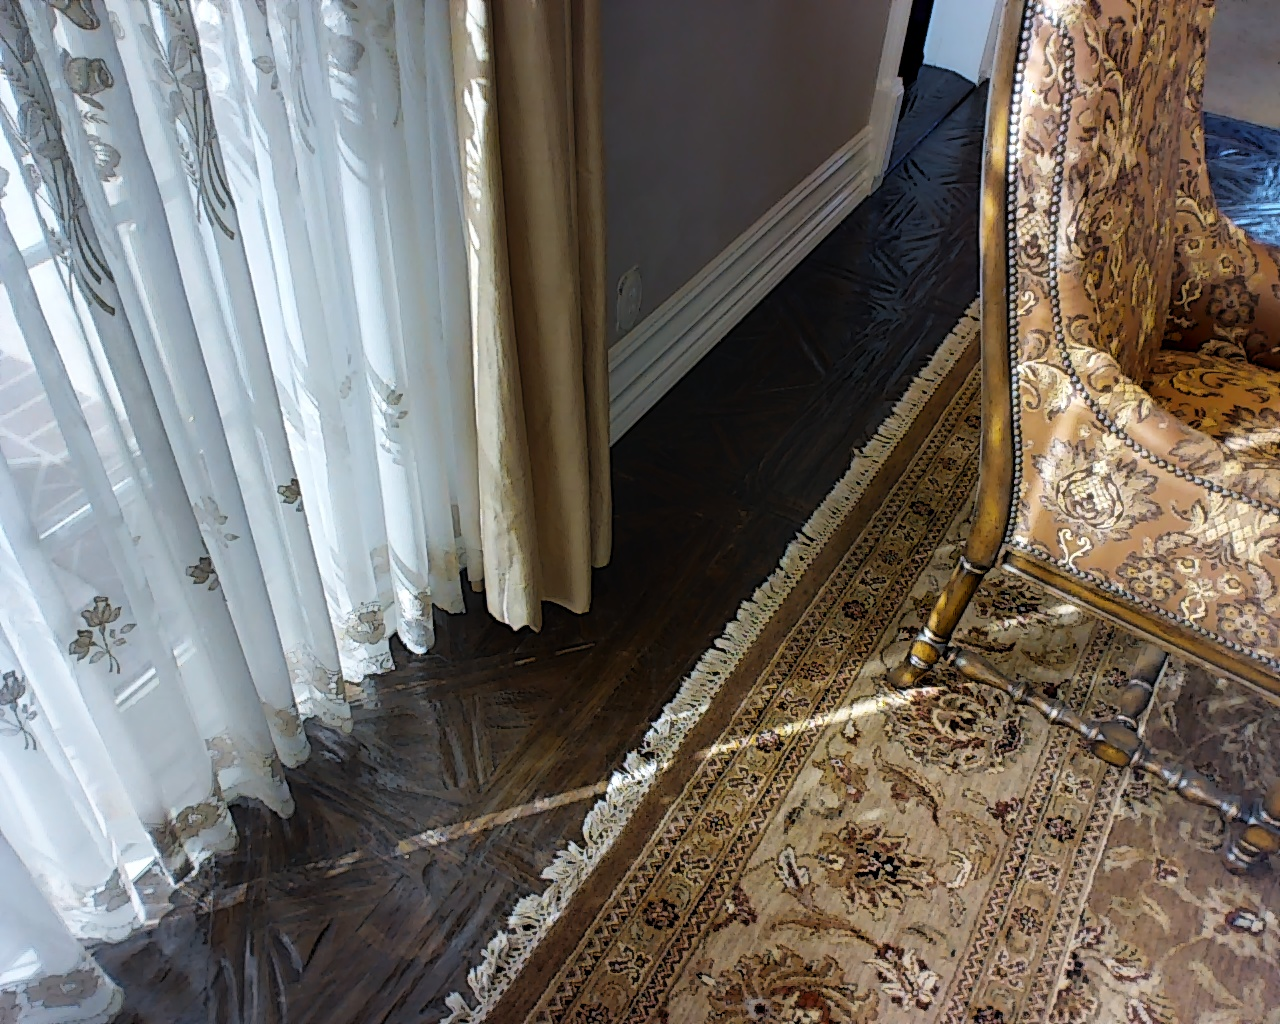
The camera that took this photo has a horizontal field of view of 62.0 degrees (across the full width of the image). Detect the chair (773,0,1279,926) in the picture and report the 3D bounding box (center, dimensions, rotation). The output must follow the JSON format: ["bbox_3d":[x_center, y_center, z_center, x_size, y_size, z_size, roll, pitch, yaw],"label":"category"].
[{"bbox_3d":[0.810,-0.200,1.510,0.850,1.160,0.720,27,48,24],"label":"chair"}]
